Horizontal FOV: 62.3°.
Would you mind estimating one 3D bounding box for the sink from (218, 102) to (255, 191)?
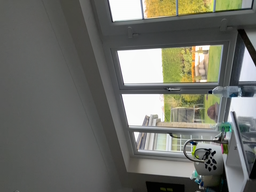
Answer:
[{"bbox_3d":[0.970,0.540,1.830,0.790,0.200,0.610,-72,-22,-49],"label":"sink"}]
